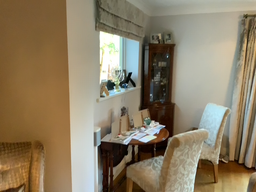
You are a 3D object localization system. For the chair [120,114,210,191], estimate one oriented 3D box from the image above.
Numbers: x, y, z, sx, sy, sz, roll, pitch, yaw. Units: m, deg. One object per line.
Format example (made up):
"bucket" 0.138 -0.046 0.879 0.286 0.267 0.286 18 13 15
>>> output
"chair" 0.330 0.760 2.120 0.520 0.960 0.670 -8 13 -39

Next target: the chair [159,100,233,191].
"chair" 0.870 0.610 2.850 0.700 1.000 0.530 -2 11 -17

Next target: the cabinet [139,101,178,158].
"cabinet" 0.540 0.550 3.720 0.540 0.810 0.480 5 11 25
